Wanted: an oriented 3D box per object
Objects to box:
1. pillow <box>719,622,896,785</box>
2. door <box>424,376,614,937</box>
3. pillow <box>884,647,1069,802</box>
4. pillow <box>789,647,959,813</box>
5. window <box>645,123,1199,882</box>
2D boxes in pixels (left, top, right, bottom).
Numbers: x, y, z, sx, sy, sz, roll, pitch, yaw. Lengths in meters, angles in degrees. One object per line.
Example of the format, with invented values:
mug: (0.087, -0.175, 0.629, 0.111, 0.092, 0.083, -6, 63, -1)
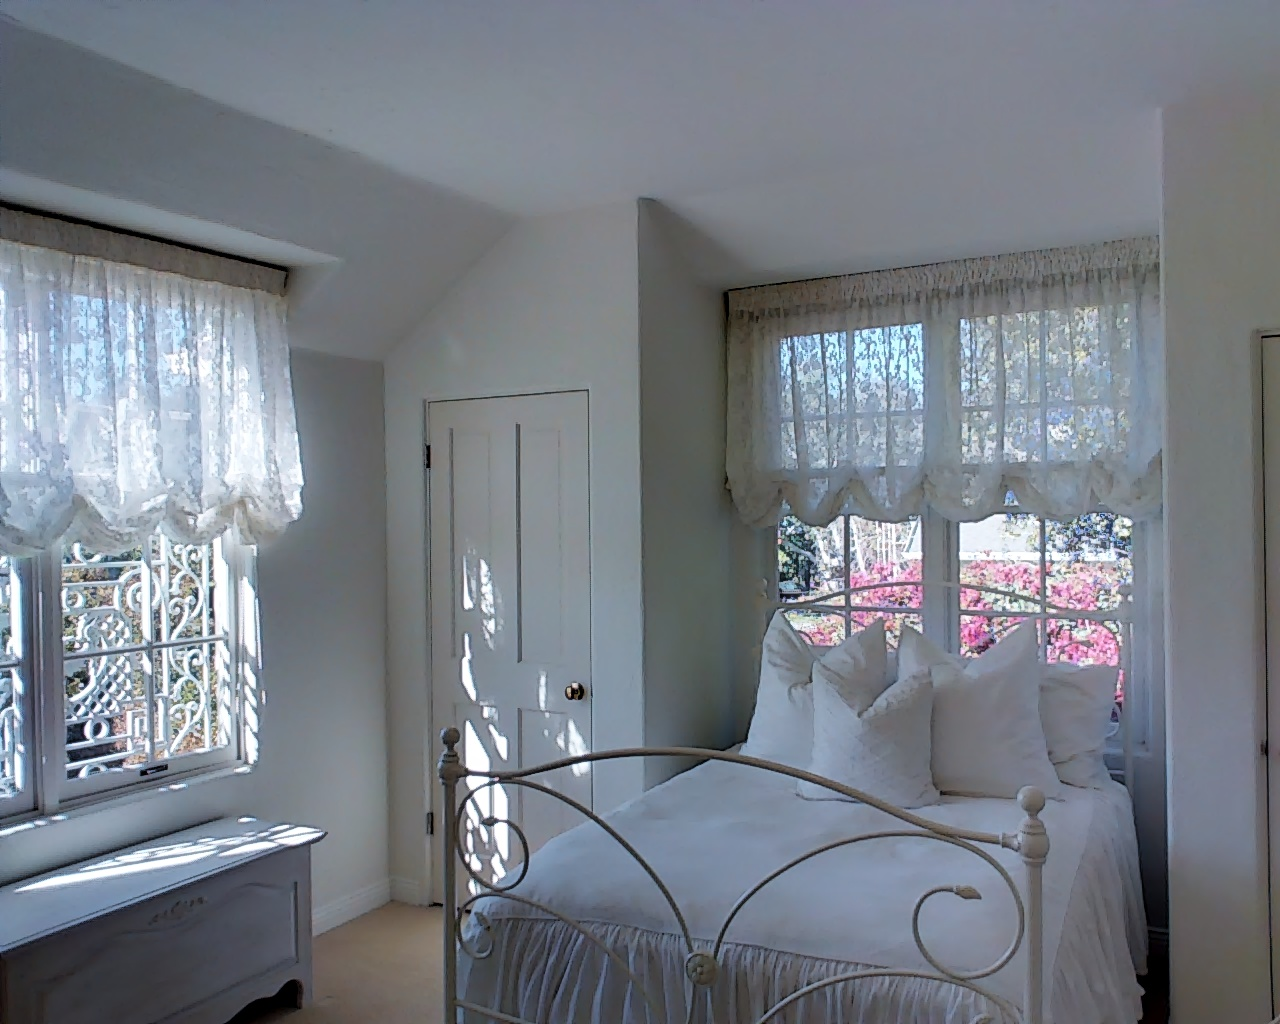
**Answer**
pillow: (0.580, 0.650, 3.740, 0.570, 0.490, 0.200, -1, 0, 30)
door: (-0.490, 0.540, 4.210, 0.850, 2.081, 0.060, -1, 0, 30)
pillow: (1.080, 0.670, 3.460, 0.540, 0.420, 0.180, -1, 0, 30)
pillow: (0.750, 0.680, 3.440, 0.470, 0.440, 0.270, -1, 0, 30)
window: (0.850, -0.020, 3.560, 1.760, 2.141, 0.230, -1, 0, 30)
